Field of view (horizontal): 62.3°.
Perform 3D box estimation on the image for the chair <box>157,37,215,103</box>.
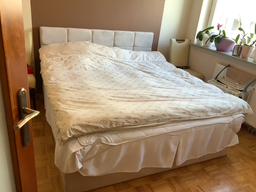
[{"bbox_3d":[0.970,-0.480,3.750,0.460,0.960,0.700,-4,26,-24],"label":"chair"}]
